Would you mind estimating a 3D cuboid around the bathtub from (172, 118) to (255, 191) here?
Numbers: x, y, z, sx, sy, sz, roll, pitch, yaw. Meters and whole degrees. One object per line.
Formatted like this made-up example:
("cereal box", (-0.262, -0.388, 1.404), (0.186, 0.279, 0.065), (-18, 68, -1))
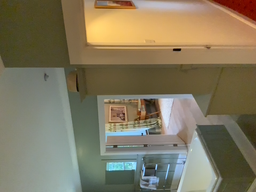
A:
("bathtub", (1.230, 1.370, 3.260), (0.950, 0.610, 1.890), (-96, 7, -54))
